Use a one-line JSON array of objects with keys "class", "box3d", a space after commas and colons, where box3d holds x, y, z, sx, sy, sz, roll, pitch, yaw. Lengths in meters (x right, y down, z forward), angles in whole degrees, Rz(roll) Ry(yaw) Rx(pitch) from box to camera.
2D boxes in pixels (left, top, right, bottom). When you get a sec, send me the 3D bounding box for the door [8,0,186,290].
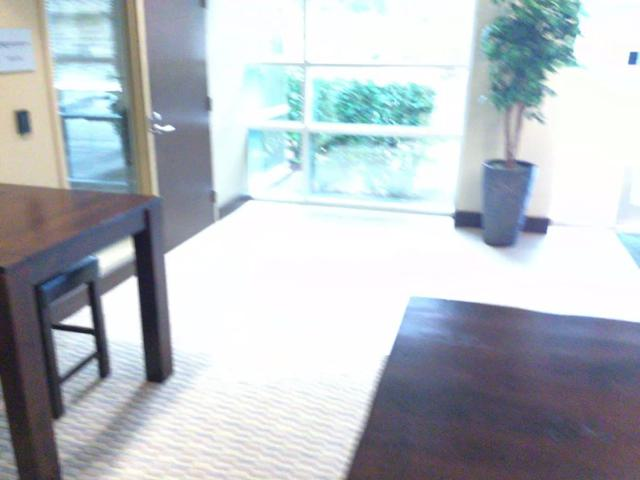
[{"class": "door", "box3d": [-1.300, -0.830, 3.560, 0.330, 2.010, 1.010, 3, 19, 13]}]
